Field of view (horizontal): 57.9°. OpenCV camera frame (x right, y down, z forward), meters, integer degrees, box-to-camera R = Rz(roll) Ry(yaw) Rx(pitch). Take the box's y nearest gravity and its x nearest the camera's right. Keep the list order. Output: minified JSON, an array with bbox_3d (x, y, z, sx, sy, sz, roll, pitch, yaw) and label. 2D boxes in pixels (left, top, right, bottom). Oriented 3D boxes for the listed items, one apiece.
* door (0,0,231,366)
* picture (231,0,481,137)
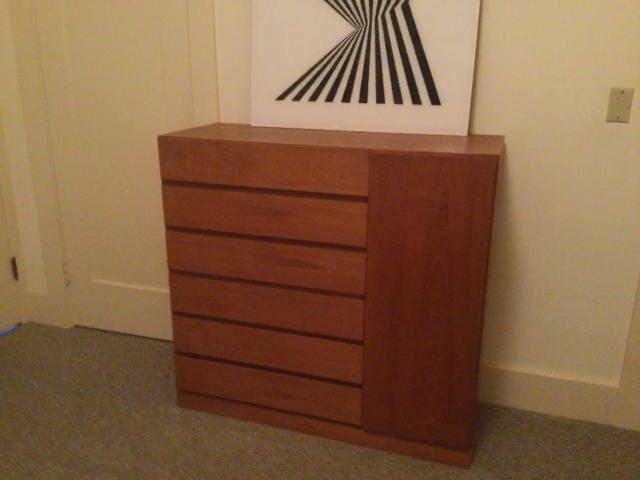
[{"bbox_3d":[-0.900,-0.490,2.410,1.010,2.010,0.150,5,16,16],"label":"door"},{"bbox_3d":[0.110,-0.730,2.010,0.850,0.700,0.120,5,16,16],"label":"picture"}]
